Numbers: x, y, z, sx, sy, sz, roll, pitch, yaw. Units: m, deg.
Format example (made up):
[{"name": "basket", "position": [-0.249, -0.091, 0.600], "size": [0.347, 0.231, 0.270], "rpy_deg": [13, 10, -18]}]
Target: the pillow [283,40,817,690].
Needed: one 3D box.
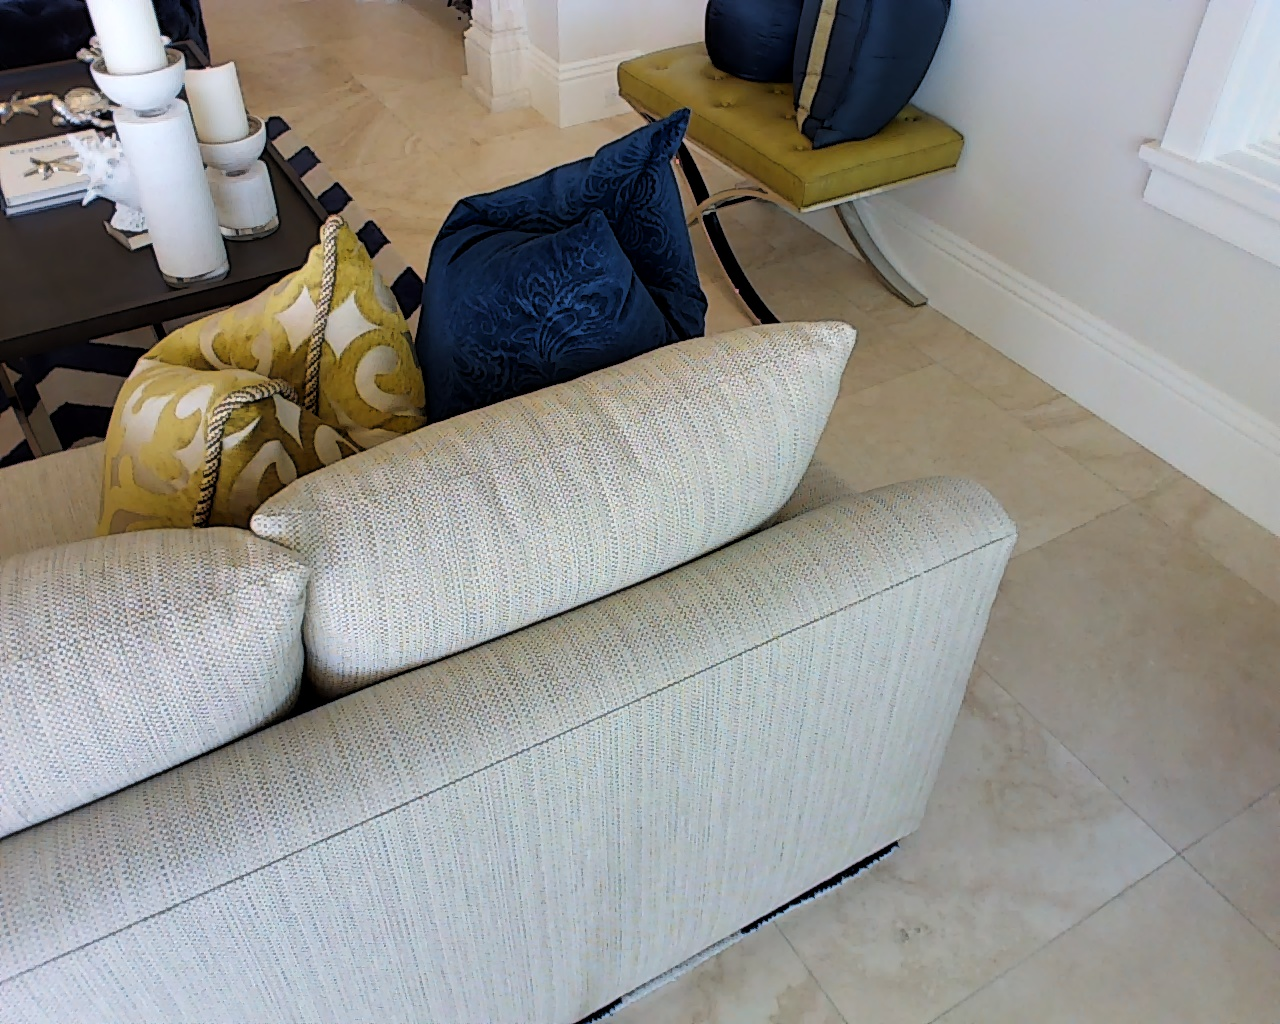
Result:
[{"name": "pillow", "position": [-0.090, -0.250, 1.500], "size": [0.460, 0.590, 0.670], "rpy_deg": [20, 28, -2]}]

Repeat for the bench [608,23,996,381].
[{"name": "bench", "position": [0.380, -0.890, 2.940], "size": [0.540, 0.540, 0.940], "rpy_deg": [-20, 45, -22]}]

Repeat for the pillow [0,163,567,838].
[{"name": "pillow", "position": [-0.470, -0.070, 1.360], "size": [0.380, 0.560, 0.640], "rpy_deg": [27, 29, 10]}]
